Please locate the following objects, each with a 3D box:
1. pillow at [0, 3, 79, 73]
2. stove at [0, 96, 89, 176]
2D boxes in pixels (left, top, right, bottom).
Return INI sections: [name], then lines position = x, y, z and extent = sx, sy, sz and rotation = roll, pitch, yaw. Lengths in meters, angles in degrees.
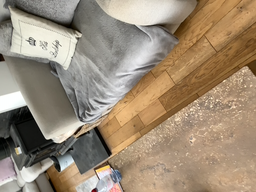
[pillow]
position = -0.610, -0.360, 1.460
extent = 0.380, 0.430, 0.140
rotation = -40, 81, 9
[stove]
position = -0.990, 0.460, 2.480
extent = 0.650, 0.710, 0.510
rotation = -42, 75, 47
